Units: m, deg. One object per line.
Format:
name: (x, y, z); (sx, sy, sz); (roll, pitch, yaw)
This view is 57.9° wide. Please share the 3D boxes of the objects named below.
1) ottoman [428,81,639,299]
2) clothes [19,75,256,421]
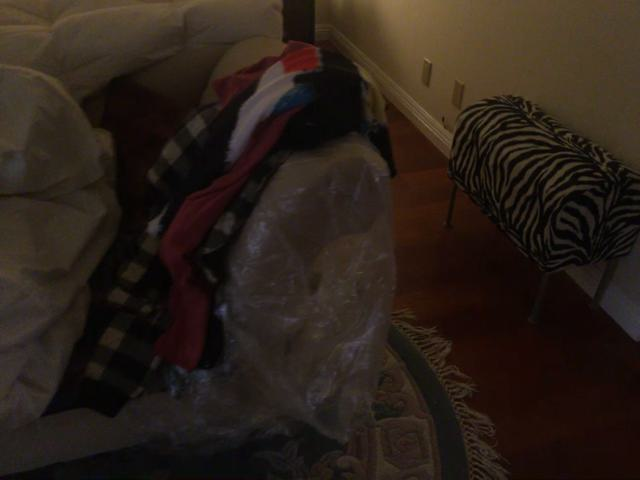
ottoman: (0.660, -0.190, 1.840); (0.320, 0.420, 0.610); (-8, 36, -17)
clothes: (-0.380, -0.040, 1.240); (0.340, 0.400, 0.660); (-8, 36, -16)
